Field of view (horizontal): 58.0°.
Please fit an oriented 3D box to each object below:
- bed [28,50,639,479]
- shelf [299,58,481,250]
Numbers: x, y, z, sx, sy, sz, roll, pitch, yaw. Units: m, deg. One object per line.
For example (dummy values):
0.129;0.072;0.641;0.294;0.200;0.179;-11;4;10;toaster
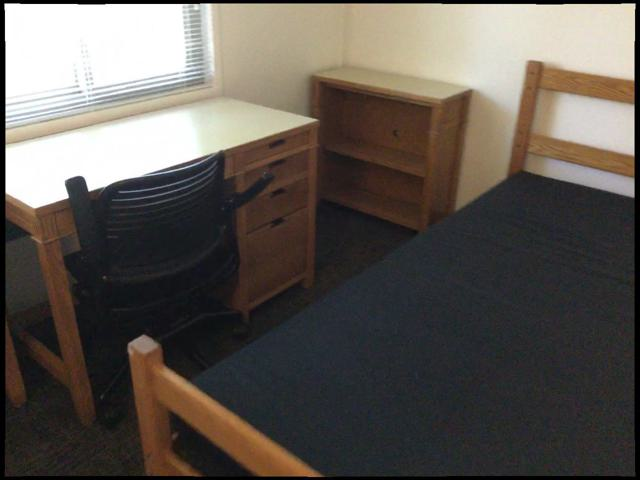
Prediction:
0.619;0.140;1.760;1.209;0.921;2.268;25;37;36;bed
0.329;-0.491;3.090;0.829;0.751;0.410;25;37;36;shelf
